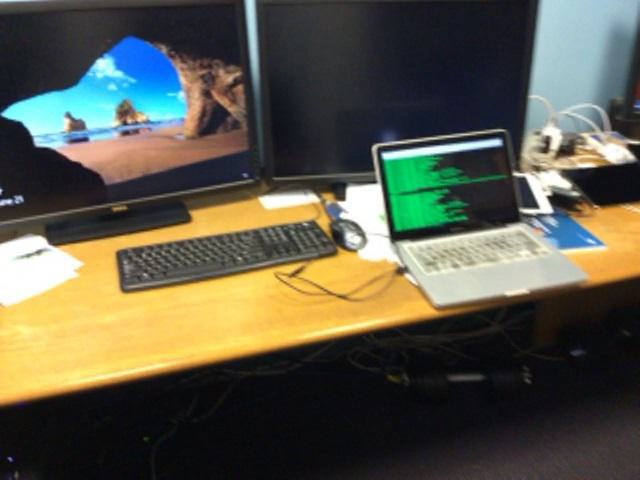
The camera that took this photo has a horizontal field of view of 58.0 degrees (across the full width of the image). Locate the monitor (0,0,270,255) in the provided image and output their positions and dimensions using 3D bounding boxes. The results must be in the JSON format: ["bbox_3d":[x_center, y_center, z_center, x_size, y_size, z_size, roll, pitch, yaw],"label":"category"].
[{"bbox_3d":[-0.470,-0.260,1.260,0.690,0.460,0.150,-14,30,-23],"label":"monitor"}]

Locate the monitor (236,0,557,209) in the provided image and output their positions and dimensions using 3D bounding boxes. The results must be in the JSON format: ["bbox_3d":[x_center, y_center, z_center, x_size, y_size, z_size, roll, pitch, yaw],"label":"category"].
[{"bbox_3d":[0.170,-0.350,1.410,0.700,0.460,0.180,-5,27,-8],"label":"monitor"}]
